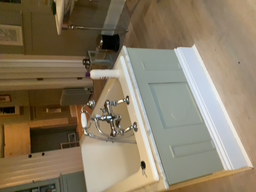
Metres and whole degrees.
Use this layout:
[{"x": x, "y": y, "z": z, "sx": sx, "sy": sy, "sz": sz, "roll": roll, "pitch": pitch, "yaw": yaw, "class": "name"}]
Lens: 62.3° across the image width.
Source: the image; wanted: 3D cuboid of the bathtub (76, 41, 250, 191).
[{"x": 0.000, "y": 0.480, "z": 2.060, "sx": 1.890, "sy": 0.610, "sz": 0.900, "roll": 125, "pitch": 135, "yaw": -54, "class": "bathtub"}]
